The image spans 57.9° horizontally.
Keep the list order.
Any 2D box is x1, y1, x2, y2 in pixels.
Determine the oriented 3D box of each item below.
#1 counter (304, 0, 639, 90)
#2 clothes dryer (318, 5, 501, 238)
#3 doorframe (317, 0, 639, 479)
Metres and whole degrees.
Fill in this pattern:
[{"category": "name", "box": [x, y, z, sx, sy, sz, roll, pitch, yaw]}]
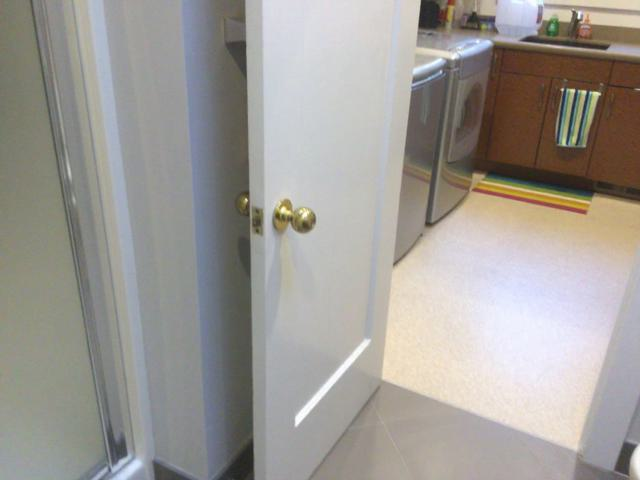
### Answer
[{"category": "counter", "box": [1.410, -1.120, 3.160, 2.580, 0.260, 1.510, 15, 29, 25]}, {"category": "clothes dryer", "box": [0.490, -0.710, 3.250, 0.700, 1.070, 0.740, 15, 29, 25]}, {"category": "doorframe", "box": [0.490, -0.360, 1.370, 0.900, 2.090, 0.300, 15, 29, 25]}]
